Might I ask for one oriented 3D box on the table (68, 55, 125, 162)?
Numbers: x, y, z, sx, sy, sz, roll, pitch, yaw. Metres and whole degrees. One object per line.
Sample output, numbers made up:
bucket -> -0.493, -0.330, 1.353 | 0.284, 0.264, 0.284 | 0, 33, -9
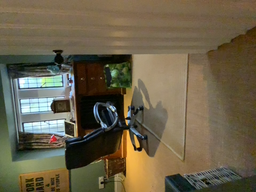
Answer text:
table -> -0.560, 0.150, 3.750 | 0.740, 0.820, 1.690 | -146, 54, -68
